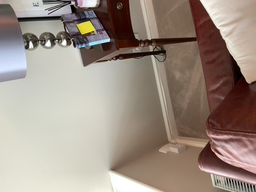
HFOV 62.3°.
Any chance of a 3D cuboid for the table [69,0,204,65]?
[{"bbox_3d":[0.030,-0.720,1.470,0.450,0.750,0.840,-7,97,56],"label":"table"}]
